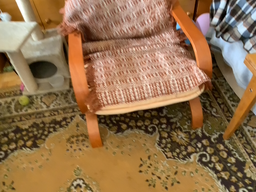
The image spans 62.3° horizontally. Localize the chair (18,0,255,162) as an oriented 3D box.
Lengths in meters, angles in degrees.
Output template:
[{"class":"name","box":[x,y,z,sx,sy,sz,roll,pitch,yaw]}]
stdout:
[{"class":"chair","box":[-0.010,-0.340,1.120,0.650,0.960,0.880,-12,49,-6]}]
